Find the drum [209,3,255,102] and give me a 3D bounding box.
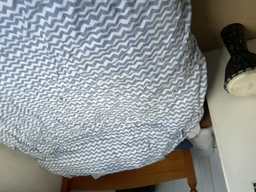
[{"bbox_3d":[0.730,-0.270,1.330,0.310,0.510,0.260,-12,148,18],"label":"drum"}]
